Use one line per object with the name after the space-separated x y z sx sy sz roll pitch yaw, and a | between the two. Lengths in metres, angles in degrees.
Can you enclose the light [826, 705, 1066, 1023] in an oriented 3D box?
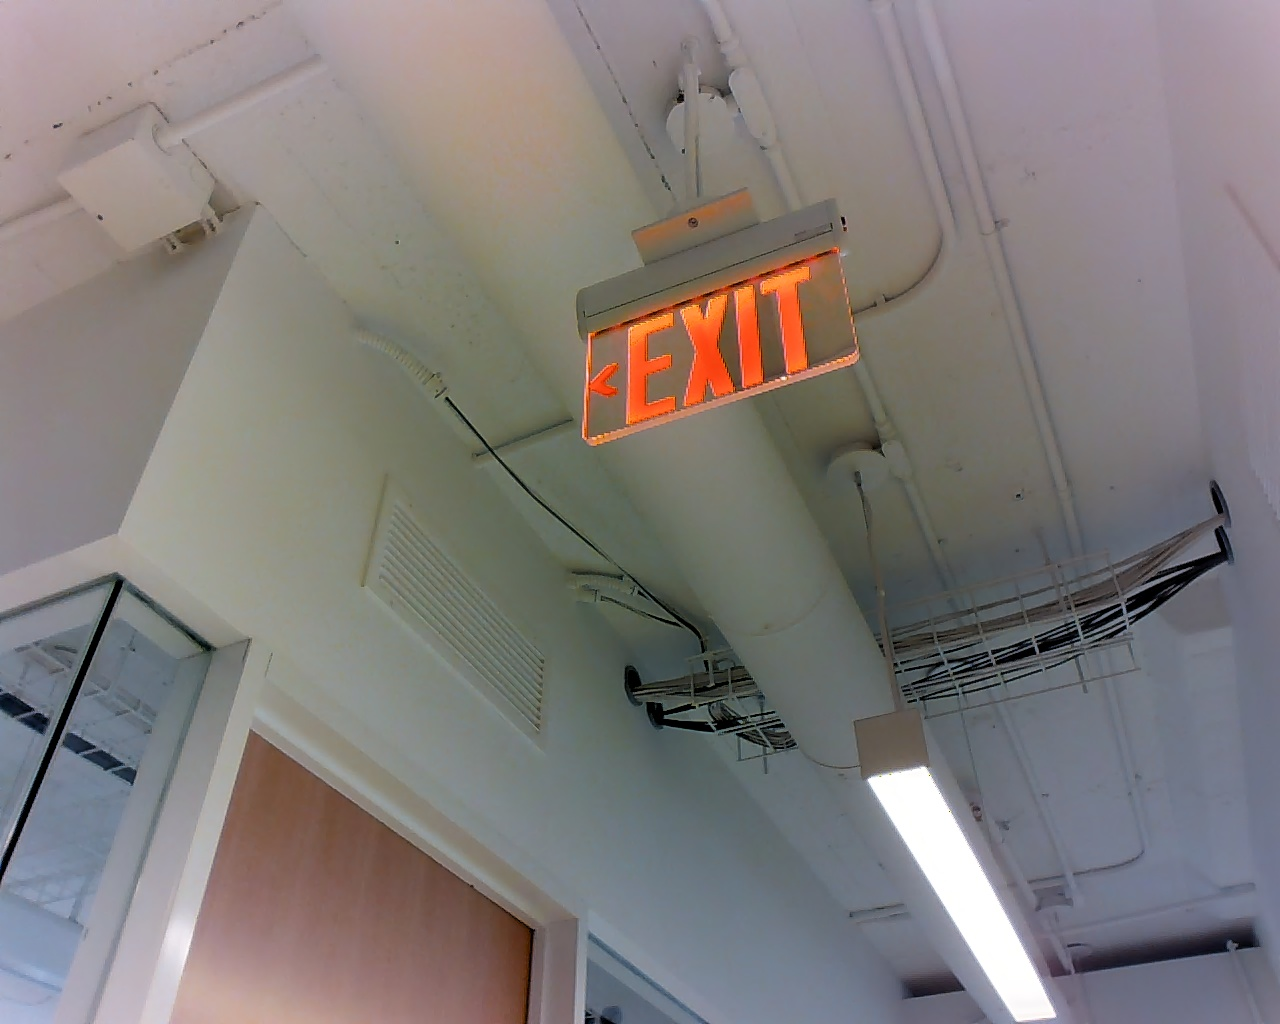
0.620 0.741 2.030 0.150 1.240 0.120 -17 45 18 | light
